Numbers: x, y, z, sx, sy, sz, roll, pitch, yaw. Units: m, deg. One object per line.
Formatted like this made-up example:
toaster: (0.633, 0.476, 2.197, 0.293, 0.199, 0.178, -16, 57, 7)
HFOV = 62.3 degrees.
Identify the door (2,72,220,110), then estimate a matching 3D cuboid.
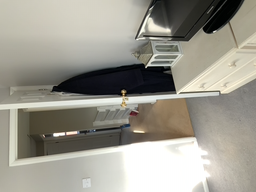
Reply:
door: (-0.150, -0.120, 2.370, 0.980, 2.000, 0.130, -143, 53, -67)

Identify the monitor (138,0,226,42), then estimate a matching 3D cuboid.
monitor: (0.360, -0.560, 1.330, 0.620, 0.420, 0.070, 125, 139, -63)
